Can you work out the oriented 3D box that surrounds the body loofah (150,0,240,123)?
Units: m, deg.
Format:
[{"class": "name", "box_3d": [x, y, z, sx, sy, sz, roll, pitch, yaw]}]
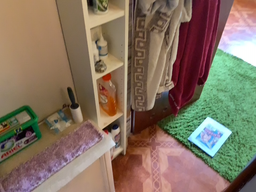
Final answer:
[{"class": "body loofah", "box_3d": [0.360, -0.350, 1.140, 0.350, 1.320, 0.120, -16, 49, -16]}]
